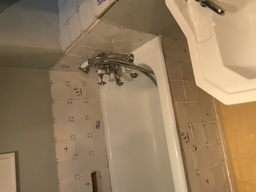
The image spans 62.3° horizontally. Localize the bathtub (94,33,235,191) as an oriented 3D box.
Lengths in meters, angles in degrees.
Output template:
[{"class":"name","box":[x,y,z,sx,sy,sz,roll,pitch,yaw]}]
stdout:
[{"class":"bathtub","box":[0.250,0.520,1.510,0.710,0.520,1.650,-18,77,49]}]
